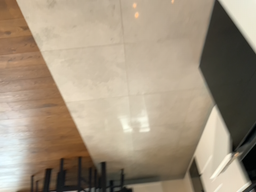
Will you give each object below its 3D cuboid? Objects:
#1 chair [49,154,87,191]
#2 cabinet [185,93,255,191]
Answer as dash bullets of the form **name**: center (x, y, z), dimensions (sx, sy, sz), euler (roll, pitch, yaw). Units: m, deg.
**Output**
- **chair**: center (-0.790, 1.330, 2.850), dimensions (0.400, 0.900, 0.520), euler (-2, 141, -6)
- **cabinet**: center (1.120, 0.650, 2.300), dimensions (0.630, 0.860, 1.040), euler (-6, 142, -1)
